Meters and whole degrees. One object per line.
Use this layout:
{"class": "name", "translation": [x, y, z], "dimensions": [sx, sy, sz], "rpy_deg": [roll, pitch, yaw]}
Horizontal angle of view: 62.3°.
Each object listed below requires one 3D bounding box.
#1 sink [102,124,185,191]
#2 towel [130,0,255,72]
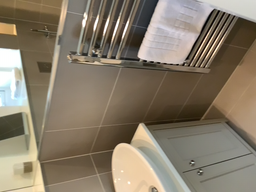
{"class": "sink", "translation": [0.070, 0.460, 1.000], "dimensions": [0.540, 0.100, 0.380], "rpy_deg": [53, 133, 42]}
{"class": "towel", "translation": [0.300, -0.320, 0.940], "dimensions": [0.090, 0.480, 0.420], "rpy_deg": [54, 133, 41]}
